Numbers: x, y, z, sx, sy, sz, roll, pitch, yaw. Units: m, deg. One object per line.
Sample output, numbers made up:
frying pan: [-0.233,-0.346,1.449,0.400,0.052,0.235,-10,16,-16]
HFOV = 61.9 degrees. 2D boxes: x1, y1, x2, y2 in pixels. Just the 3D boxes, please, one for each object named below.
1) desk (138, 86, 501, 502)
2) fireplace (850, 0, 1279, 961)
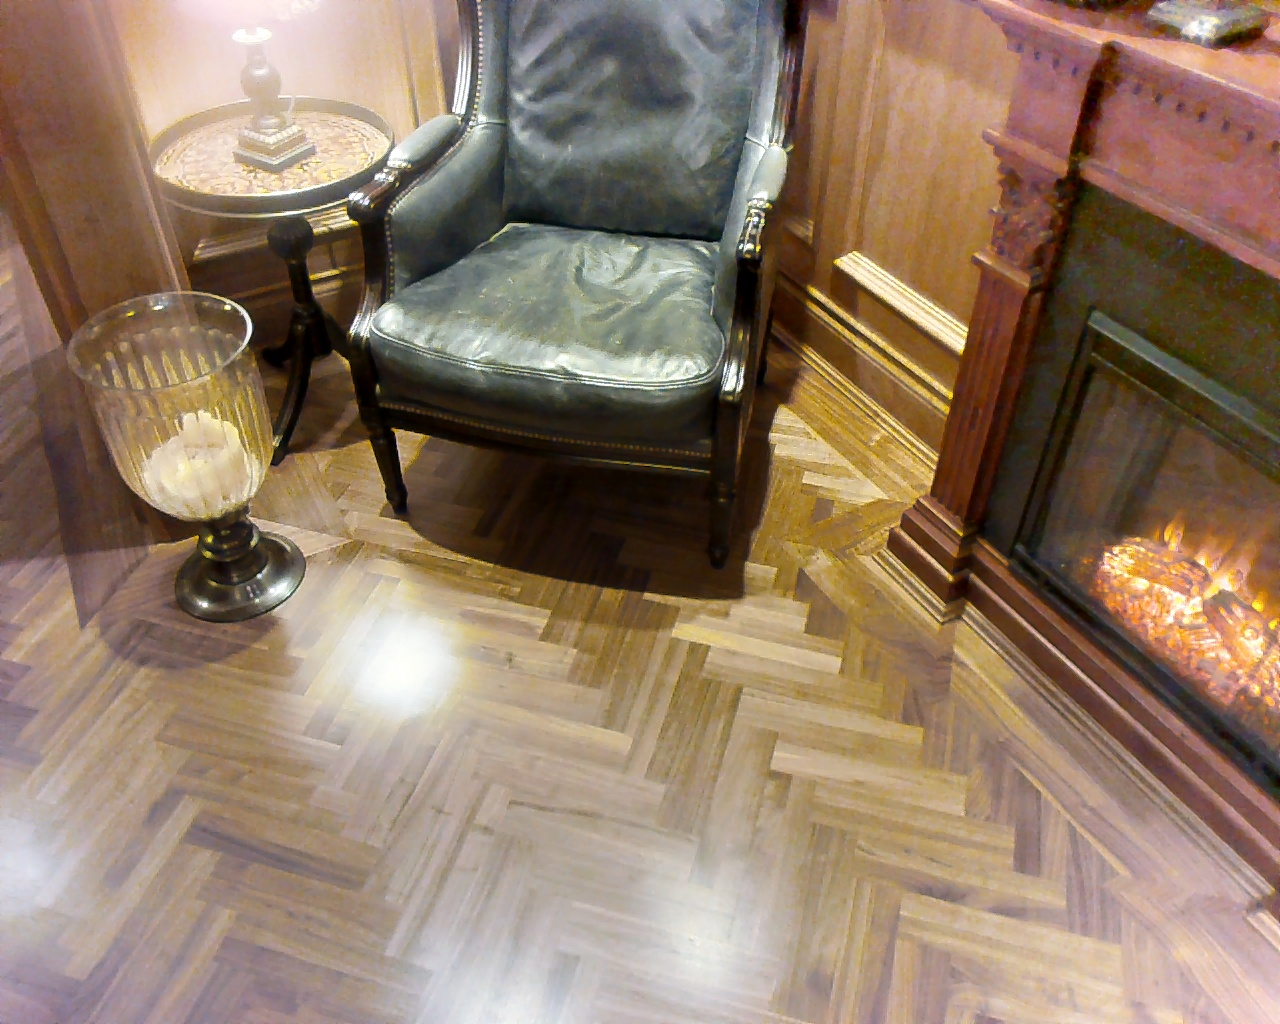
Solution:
desk: [-0.680,-0.490,2.320,0.510,0.590,0.570,-20,45,-21]
fireplace: [0.840,-0.080,1.460,0.350,1.090,1.150,-20,45,-20]
